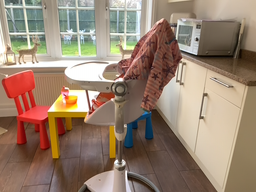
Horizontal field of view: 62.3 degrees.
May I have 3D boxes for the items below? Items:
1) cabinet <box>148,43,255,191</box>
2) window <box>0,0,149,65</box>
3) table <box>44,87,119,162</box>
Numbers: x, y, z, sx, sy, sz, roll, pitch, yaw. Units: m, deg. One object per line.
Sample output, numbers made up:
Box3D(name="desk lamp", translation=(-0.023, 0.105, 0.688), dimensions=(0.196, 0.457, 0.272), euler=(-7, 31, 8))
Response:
Box3D(name="cabinet", translation=(0.640, 0.050, 2.040), dimensions=(0.410, 0.900, 1.640), euler=(-2, 21, -10))
Box3D(name="window", translation=(-0.620, -1.100, 2.610), dimensions=(1.760, 1.410, 0.140), euler=(-1, 21, -9))
Box3D(name="table", translation=(-0.390, 0.240, 2.070), dimensions=(0.580, 0.470, 0.620), euler=(2, 21, -1))
